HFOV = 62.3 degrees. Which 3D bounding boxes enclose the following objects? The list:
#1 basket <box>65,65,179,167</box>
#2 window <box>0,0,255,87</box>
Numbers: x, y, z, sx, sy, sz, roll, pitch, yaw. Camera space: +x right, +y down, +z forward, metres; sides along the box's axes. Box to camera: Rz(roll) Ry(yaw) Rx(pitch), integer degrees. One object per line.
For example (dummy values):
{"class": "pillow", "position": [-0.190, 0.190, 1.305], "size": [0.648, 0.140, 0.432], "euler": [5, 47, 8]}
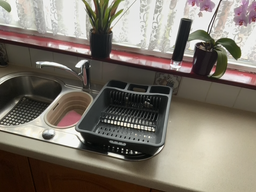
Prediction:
{"class": "basket", "position": [0.010, 0.050, 1.010], "size": [0.410, 0.140, 0.470], "euler": [13, 34, 9]}
{"class": "window", "position": [-0.190, -0.660, 1.070], "size": [2.110, 0.950, 0.050], "euler": [12, 33, 7]}
